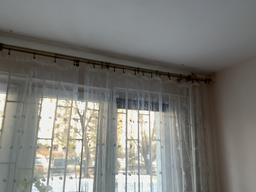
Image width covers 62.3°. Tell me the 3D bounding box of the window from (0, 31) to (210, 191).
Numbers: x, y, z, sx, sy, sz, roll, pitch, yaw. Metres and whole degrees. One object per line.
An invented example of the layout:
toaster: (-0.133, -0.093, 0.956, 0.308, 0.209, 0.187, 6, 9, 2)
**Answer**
window: (-0.060, 0.580, 1.940, 1.850, 2.010, 0.220, 7, -14, -23)
